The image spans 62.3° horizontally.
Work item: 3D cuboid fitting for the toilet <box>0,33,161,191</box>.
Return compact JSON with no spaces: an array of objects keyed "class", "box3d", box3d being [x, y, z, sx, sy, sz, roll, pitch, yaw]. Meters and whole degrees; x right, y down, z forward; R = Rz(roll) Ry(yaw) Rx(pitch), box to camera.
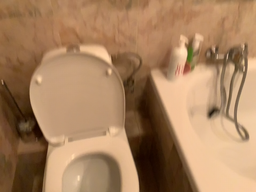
[{"class":"toilet","box3d":[-0.170,0.240,0.910,0.370,0.760,0.600,-7,47,-7]}]
